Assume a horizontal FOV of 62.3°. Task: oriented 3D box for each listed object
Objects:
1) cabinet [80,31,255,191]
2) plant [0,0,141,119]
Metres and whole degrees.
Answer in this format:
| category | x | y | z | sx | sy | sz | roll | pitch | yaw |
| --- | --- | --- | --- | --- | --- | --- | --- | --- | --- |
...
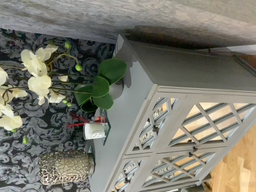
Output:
| category | x | y | z | sx | sy | sz | roll | pitch | yaw |
| --- | --- | --- | --- | --- | --- | --- | --- | --- | --- |
| cabinet | 0.240 | 0.170 | 1.190 | 0.390 | 0.800 | 0.820 | 62 | 140 | 44 |
| plant | -0.280 | -0.130 | 0.780 | 0.350 | 0.510 | 0.250 | -66 | 35 | 36 |
